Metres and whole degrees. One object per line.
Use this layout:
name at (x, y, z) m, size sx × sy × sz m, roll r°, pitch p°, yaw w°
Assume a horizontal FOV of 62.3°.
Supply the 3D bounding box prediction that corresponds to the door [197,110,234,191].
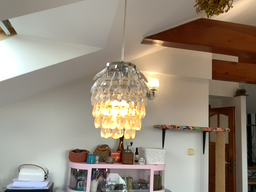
door at (1.520, 1.200, 3.770) m, size 0.160 × 1.840 × 0.840 m, roll 5°, pitch -8°, yaw -11°
